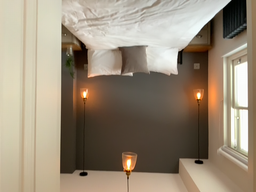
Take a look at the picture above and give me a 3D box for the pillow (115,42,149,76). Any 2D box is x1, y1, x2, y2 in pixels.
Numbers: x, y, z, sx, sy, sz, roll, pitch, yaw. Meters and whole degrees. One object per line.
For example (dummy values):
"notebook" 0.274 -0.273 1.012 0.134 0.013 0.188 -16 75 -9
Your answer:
"pillow" 0.060 -0.500 2.920 0.420 0.380 0.200 -2 164 14

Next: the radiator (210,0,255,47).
"radiator" 1.070 -0.930 2.250 0.150 0.620 0.820 0 179 6

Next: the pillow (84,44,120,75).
"pillow" -0.370 -0.530 3.080 0.480 0.420 0.130 0 167 6

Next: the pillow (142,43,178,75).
"pillow" 0.460 -0.520 3.020 0.490 0.380 0.190 -2 158 14
